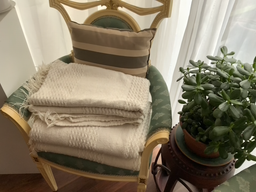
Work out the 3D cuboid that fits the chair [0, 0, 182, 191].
[{"bbox_3d":[-0.150,0.050,1.080,0.640,0.990,0.600,9,42,7],"label":"chair"}]
